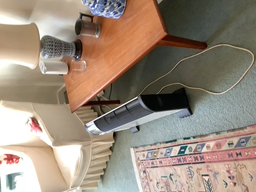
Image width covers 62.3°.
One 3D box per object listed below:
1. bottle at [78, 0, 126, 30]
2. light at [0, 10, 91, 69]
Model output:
[{"bbox_3d":[-0.140,-0.480,1.100,0.160,0.170,0.190,-23,74,50],"label":"bottle"},{"bbox_3d":[-0.570,-0.350,1.420,0.200,0.570,0.260,-26,72,49],"label":"light"}]
